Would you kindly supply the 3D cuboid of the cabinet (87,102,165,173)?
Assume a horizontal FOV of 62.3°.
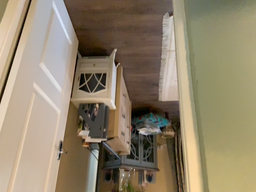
[{"bbox_3d":[0.000,0.780,3.740,1.270,1.000,0.430,16,153,-29],"label":"cabinet"}]
